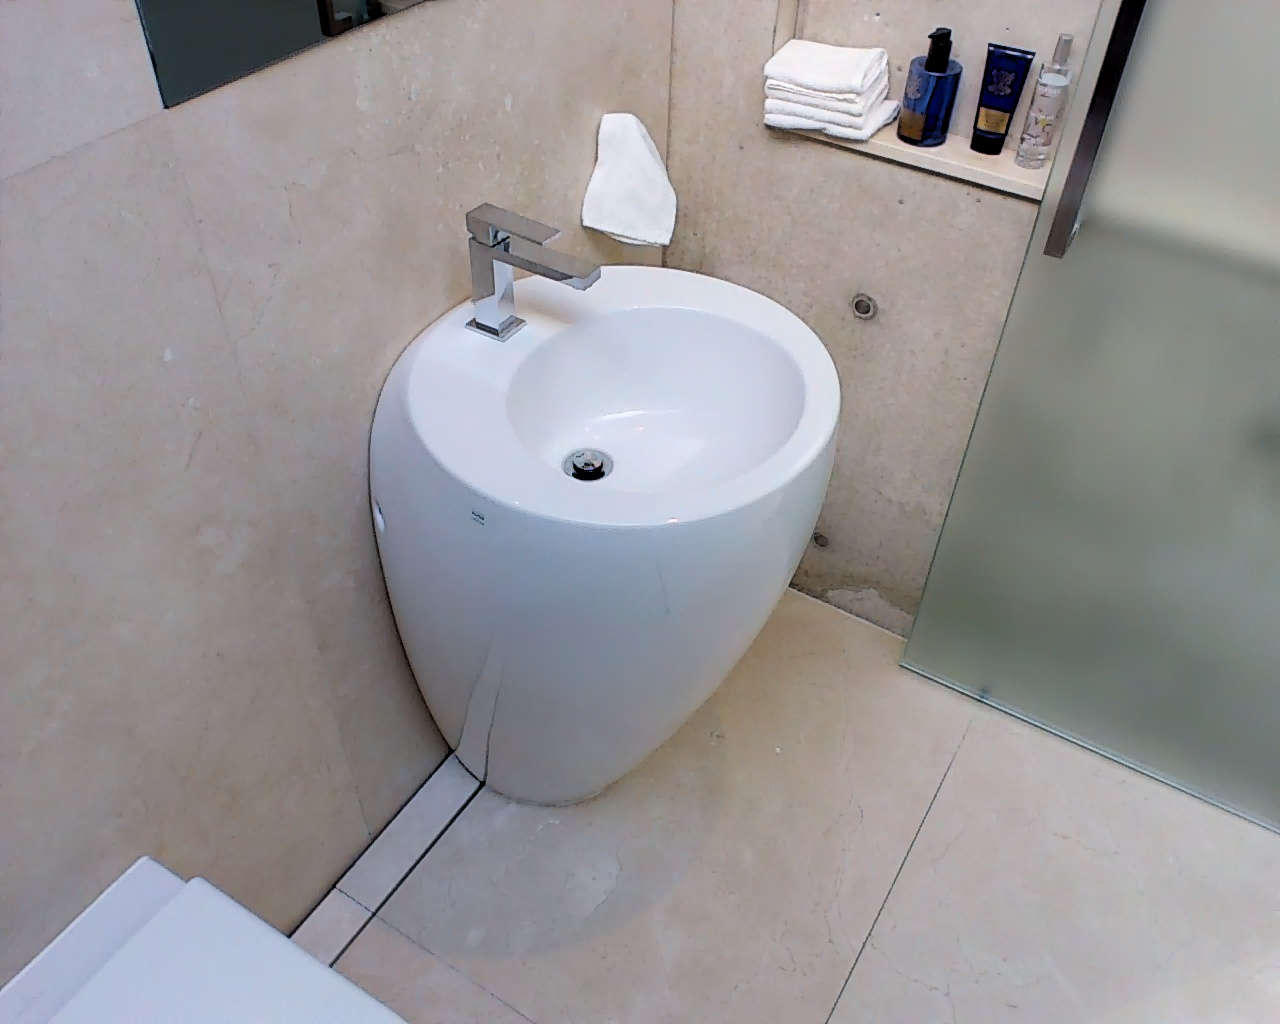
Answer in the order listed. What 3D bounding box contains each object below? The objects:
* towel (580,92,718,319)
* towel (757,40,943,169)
[{"bbox_3d":[0.010,-0.440,1.540,0.120,0.250,0.160,25,47,22],"label":"towel"},{"bbox_3d":[0.290,-0.570,1.490,0.210,0.090,0.130,22,46,20],"label":"towel"}]
